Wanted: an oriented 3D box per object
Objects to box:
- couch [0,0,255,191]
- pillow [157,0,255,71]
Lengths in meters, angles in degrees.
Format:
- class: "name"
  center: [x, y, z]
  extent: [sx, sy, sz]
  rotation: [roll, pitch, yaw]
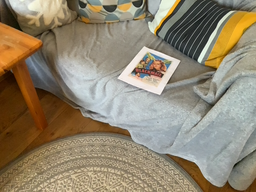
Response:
- class: "couch"
  center: [0.030, -0.280, 1.240]
  extent: [1.540, 0.630, 0.750]
  rotation: [25, 51, 16]
- class: "pillow"
  center: [0.410, -0.360, 1.110]
  extent: [0.400, 0.190, 0.300]
  rotation: [26, 51, 17]
